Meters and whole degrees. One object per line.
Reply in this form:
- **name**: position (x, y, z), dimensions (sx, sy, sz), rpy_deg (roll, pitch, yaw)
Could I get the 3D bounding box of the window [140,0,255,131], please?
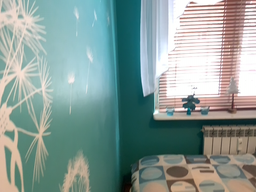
- **window**: position (1.010, -0.570, 1.840), dimensions (1.790, 1.790, 0.190), rpy_deg (-1, 15, 3)
